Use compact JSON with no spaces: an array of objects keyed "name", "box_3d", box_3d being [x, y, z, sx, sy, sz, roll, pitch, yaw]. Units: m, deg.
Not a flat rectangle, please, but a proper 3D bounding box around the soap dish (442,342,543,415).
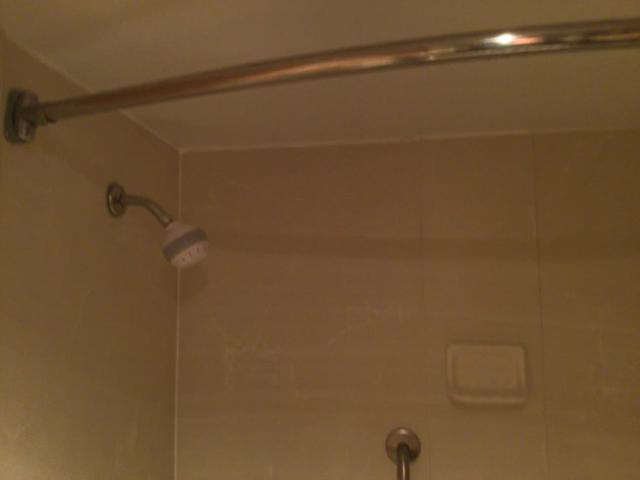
[{"name":"soap dish","box_3d":[0.360,0.290,1.220,0.190,0.140,0.070,-2,-6,8]}]
